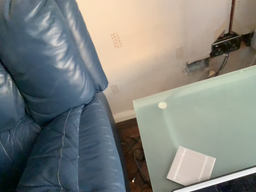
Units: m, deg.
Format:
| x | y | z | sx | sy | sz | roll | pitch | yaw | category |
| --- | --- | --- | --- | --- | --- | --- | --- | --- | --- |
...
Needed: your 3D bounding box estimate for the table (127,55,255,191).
| x | y | z | sx | sy | sz | roll | pitch | yaw | category |
| --- | --- | --- | --- | --- | --- | --- | --- | --- | --- |
| 0.410 | 0.290 | 0.760 | 0.630 | 0.500 | 0.640 | -16 | 49 | 4 | table |
